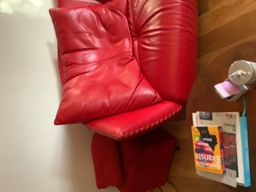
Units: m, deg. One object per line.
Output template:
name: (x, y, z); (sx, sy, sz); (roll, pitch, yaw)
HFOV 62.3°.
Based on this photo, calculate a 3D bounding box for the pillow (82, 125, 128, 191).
pillow: (-0.190, 0.500, 1.610); (0.430, 0.090, 0.500); (-22, 73, 51)
